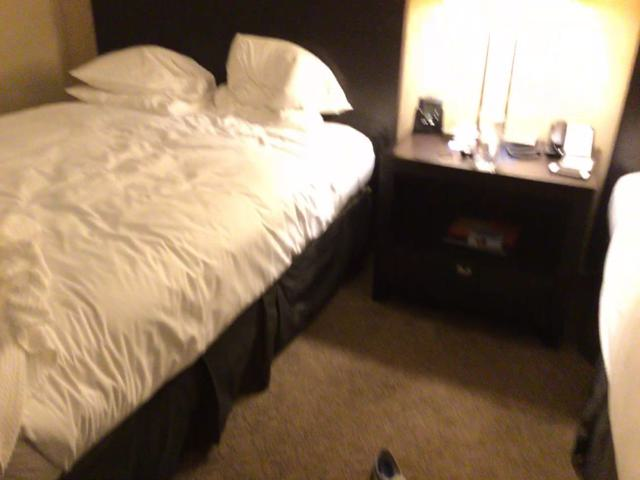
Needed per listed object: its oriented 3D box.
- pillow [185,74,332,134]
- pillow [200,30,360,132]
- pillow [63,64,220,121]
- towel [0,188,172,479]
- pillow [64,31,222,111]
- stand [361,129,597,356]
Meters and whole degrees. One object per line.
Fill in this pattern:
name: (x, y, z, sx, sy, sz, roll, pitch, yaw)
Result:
pillow: (-0.270, -0.610, 2.550, 0.580, 0.160, 0.270, 12, 25, 22)
pillow: (-0.180, -0.710, 2.530, 0.650, 0.350, 0.230, 12, 25, 22)
pillow: (-0.810, -0.690, 2.660, 0.560, 0.150, 0.390, 12, 25, 22)
towel: (-0.700, 0.140, 1.220, 0.570, 0.320, 0.460, 12, 25, 22)
pillow: (-0.790, -0.790, 2.650, 0.500, 0.270, 0.450, 12, 25, 22)
stand: (0.650, -0.040, 2.380, 0.770, 0.640, 0.570, 12, 25, 22)
